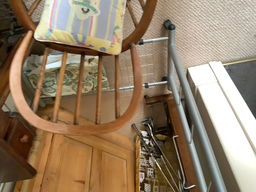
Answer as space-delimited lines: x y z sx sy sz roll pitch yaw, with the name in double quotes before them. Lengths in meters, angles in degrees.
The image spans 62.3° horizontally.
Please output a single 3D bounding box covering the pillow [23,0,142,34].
"pillow" -0.110 -0.270 0.630 0.250 0.250 0.090 22 110 7
